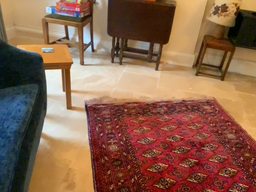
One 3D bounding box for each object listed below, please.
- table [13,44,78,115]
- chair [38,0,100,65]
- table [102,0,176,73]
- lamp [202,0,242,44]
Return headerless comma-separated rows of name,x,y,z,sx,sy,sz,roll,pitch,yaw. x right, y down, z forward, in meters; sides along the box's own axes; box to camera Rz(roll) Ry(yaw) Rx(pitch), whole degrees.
table,-0.640,-0.150,1.700,0.410,0.430,0.340,-6,35,-21
chair,-0.630,-0.910,2.390,0.490,0.910,0.490,12,33,6
table,0.110,-0.720,2.420,0.710,0.720,0.320,12,33,6
lamp,0.980,-0.800,2.250,0.230,0.390,0.250,10,33,4
